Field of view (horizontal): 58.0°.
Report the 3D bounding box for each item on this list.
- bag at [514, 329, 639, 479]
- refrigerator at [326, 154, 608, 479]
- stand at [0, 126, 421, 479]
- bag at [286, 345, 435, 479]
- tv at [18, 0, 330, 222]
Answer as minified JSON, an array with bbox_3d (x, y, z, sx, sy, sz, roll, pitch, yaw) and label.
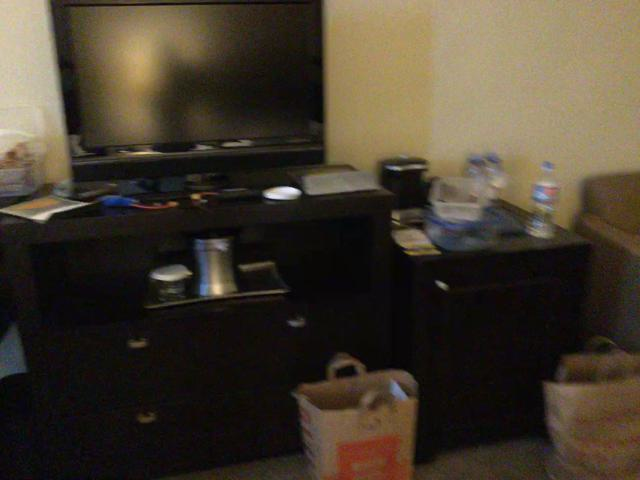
[{"bbox_3d":[0.910,0.570,1.850,0.430,0.400,0.330,-7,19,-10],"label":"bag"},{"bbox_3d":[0.480,0.230,2.140,0.740,0.920,0.650,-7,19,-10],"label":"refrigerator"},{"bbox_3d":[-0.350,0.250,1.980,1.200,1.040,0.520,-10,19,-8],"label":"stand"},{"bbox_3d":[0.130,0.610,1.840,0.410,0.430,0.220,-7,19,-10],"label":"bag"},{"bbox_3d":[-0.400,-0.440,1.770,0.780,0.600,0.170,-13,20,-13],"label":"tv"}]
